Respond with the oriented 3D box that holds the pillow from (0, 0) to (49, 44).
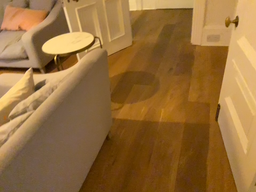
[{"bbox_3d":[-1.410,-1.050,2.810,0.610,0.370,0.190,36,42,-5],"label":"pillow"}]
